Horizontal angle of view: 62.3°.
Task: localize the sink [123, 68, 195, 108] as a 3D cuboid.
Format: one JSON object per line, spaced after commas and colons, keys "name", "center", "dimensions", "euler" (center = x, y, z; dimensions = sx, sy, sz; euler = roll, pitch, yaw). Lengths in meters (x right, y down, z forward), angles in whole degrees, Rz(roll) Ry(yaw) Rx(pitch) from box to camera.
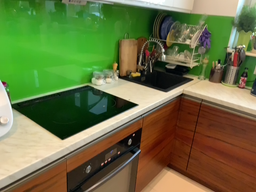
{"name": "sink", "center": [0.320, -0.110, 2.100], "dimensions": [0.460, 0.170, 0.590], "euler": [20, 25, 33]}
